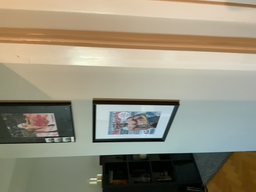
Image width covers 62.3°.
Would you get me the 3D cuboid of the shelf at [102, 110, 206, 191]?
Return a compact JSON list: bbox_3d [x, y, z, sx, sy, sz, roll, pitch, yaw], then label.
[{"bbox_3d":[0.300,0.990,3.580,1.610,1.450,0.450,-97,11,-45],"label":"shelf"}]
